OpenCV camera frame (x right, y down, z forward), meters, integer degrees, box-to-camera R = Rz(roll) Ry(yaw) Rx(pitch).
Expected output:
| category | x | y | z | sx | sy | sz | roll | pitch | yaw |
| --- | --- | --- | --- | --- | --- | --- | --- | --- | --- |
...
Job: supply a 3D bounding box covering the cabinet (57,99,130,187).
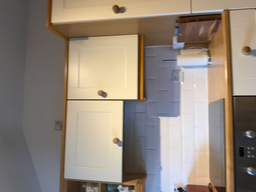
| category | x | y | z | sx | sy | sz | roll | pitch | yaw |
| --- | --- | --- | --- | --- | --- | --- | --- | --- | --- |
| cabinet | -0.260 | 0.350 | 1.740 | 0.330 | 0.490 | 0.620 | 26 | -115 | -78 |
